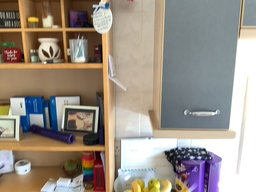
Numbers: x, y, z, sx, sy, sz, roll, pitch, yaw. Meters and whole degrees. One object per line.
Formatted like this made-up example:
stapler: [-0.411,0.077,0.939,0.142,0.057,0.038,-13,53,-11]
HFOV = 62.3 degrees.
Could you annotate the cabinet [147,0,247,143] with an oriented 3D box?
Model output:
cabinet: [0.280,-0.240,1.000,0.330,0.820,0.360,1,12,0]
